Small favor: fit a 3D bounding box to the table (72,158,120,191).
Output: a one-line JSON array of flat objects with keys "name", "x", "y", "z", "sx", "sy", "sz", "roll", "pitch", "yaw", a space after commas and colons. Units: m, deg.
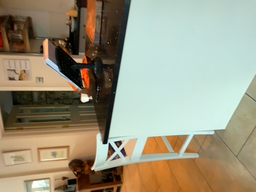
[{"name": "table", "x": -0.760, "y": 2.210, "z": 4.550, "sx": 0.510, "sy": 0.830, "sz": 1.840, "roll": -118, "pitch": 32, "yaw": -52}]
